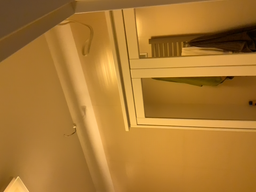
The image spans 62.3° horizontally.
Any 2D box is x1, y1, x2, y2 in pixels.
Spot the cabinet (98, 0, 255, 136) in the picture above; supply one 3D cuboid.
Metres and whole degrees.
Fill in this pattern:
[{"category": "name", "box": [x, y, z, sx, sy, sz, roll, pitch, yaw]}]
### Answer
[{"category": "cabinet", "box": [0.430, -0.180, 1.030, 0.170, 1.030, 0.830, -71, -22, -54]}]
